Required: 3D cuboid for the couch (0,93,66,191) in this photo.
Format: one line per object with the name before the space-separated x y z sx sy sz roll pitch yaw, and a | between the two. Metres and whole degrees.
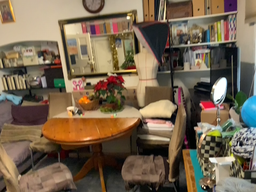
couch | -1.810 0.630 2.780 1.010 0.850 2.030 -3 14 11
